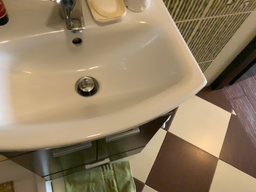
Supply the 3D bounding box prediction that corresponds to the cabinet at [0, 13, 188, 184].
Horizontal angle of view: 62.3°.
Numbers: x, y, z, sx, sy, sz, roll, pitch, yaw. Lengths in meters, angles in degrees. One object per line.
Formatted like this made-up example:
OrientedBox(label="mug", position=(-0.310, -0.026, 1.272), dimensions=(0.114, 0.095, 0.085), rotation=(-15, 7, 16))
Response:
OrientedBox(label="cabinet", position=(-0.170, 0.090, 0.880), dimensions=(0.480, 0.730, 0.330), rotation=(-13, 66, -15))
